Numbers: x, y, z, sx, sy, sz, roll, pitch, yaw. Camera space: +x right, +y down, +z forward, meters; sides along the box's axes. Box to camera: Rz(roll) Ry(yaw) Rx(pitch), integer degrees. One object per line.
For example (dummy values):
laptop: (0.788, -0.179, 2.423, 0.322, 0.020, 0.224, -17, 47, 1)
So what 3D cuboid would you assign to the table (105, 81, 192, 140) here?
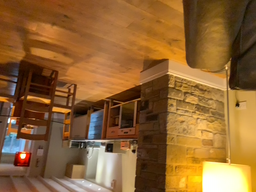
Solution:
table: (0.300, 0.370, 3.980, 0.720, 0.820, 1.640, 12, 164, -31)

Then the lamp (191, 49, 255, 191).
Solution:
lamp: (1.150, 0.340, 2.370, 0.700, 1.480, 0.510, 12, 164, -29)
